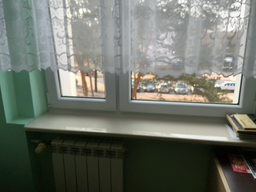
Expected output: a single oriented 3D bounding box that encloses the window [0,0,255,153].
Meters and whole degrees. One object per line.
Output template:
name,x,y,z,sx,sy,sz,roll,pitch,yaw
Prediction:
window,0.000,-0.580,1.110,1.730,1.610,0.340,3,16,12
